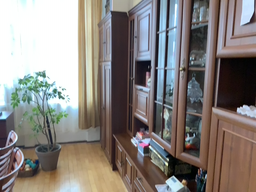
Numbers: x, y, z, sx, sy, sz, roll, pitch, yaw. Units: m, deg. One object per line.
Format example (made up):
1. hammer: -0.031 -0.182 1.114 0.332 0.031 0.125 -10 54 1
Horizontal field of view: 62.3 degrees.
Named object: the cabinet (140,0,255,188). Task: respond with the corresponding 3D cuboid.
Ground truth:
1. cabinet: 0.470 -0.200 1.650 0.430 1.360 0.910 -2 9 -17
